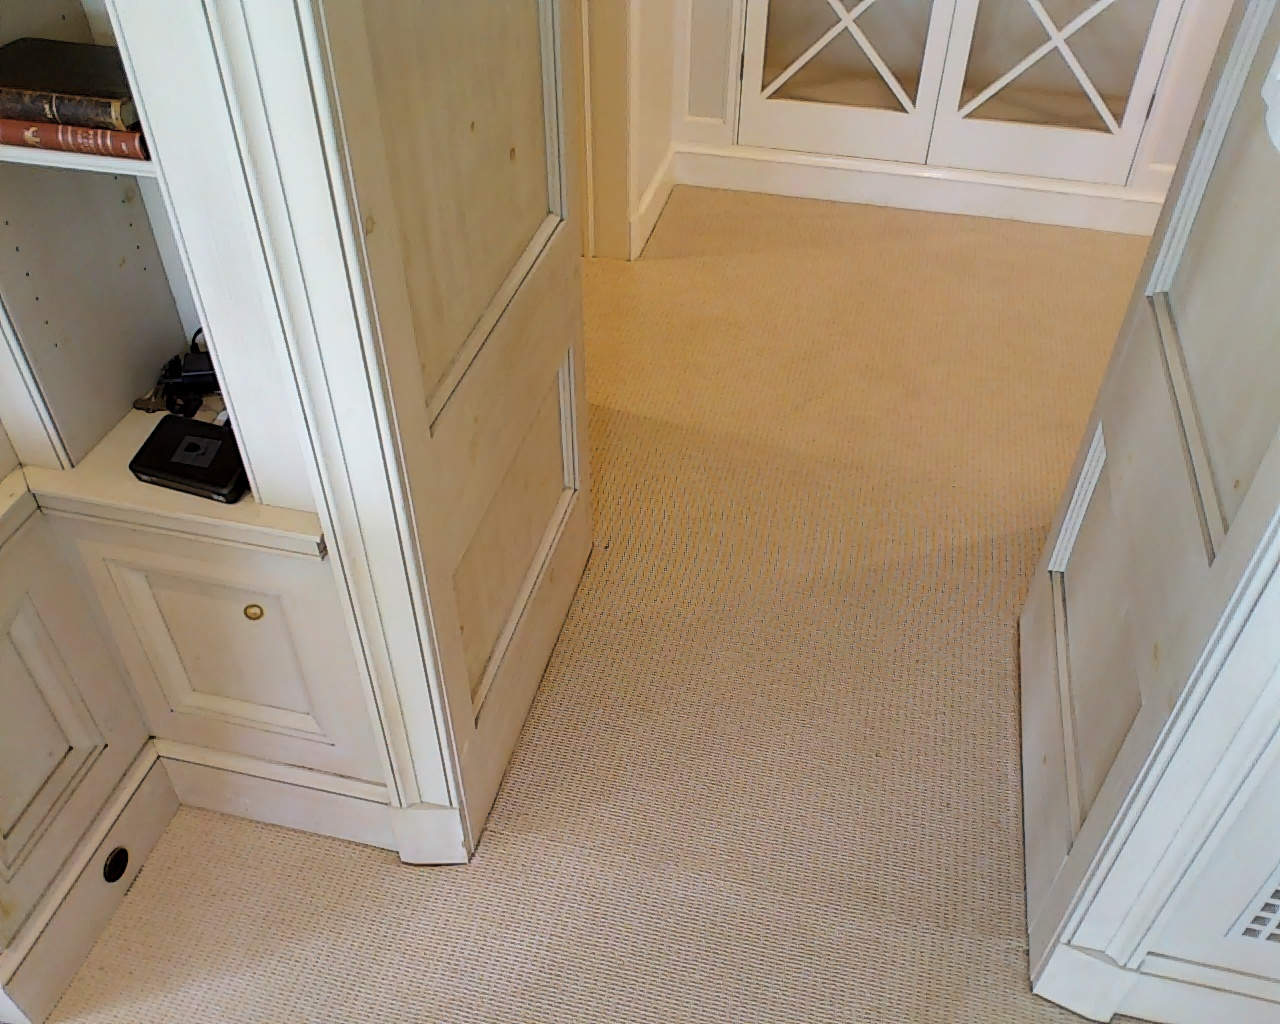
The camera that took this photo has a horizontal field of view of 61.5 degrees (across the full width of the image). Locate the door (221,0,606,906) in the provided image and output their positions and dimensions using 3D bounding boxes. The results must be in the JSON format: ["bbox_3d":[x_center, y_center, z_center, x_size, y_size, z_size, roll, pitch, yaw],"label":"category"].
[{"bbox_3d":[-0.190,-0.430,1.310,0.060,2.040,0.860,9,43,9],"label":"door"}]

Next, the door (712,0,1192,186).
[{"bbox_3d":[0.890,-1.870,2.790,1.310,1.970,0.090,9,43,10],"label":"door"}]
